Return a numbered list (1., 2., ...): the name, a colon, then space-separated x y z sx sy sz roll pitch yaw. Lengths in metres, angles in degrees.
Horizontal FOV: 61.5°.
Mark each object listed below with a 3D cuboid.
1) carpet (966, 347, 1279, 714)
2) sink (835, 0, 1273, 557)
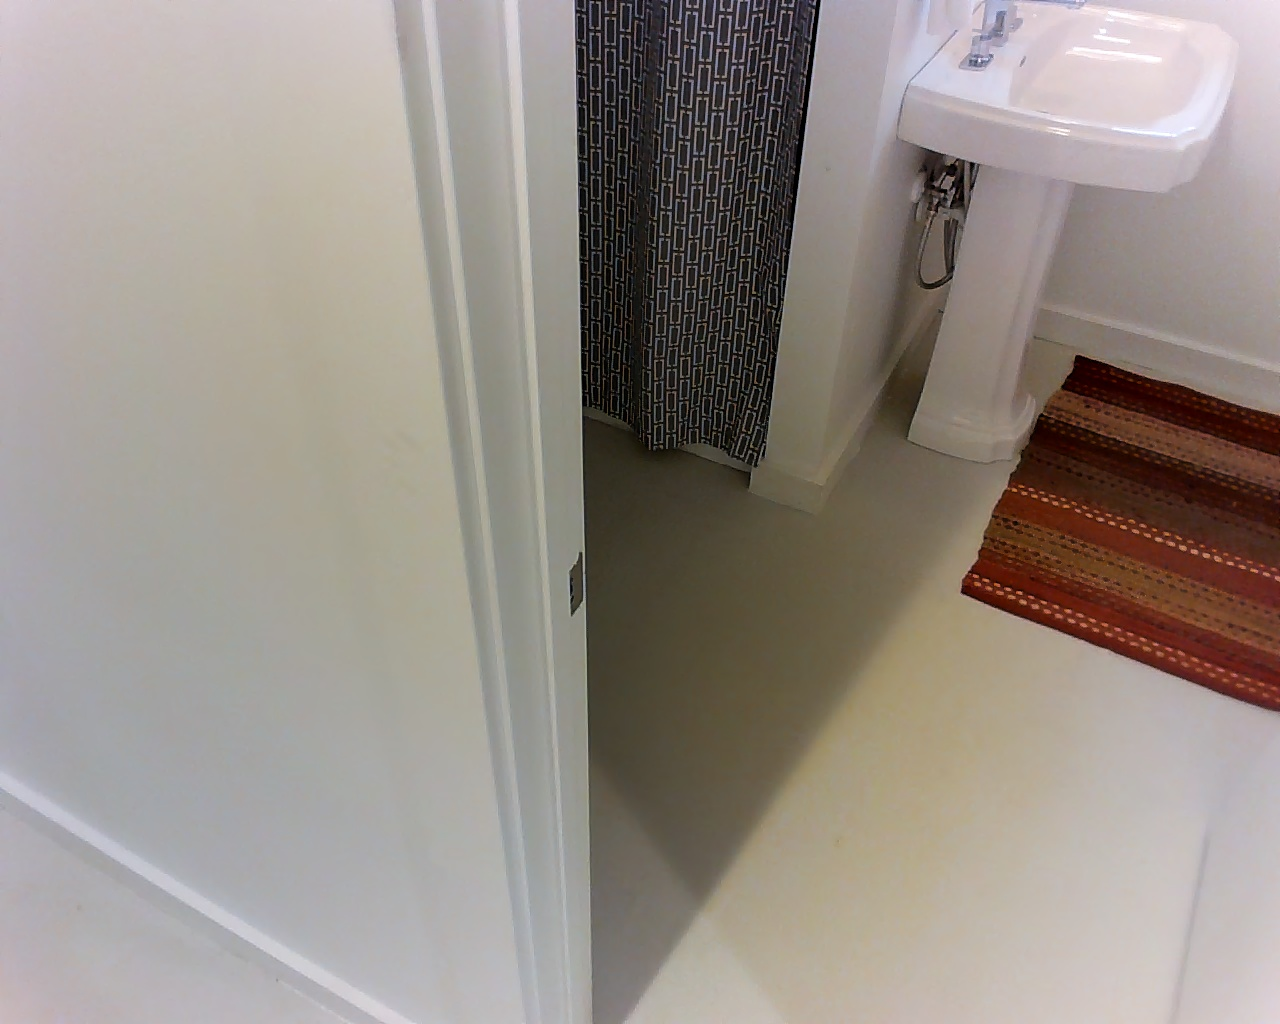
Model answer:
1. carpet: 1.170 -0.020 2.370 0.640 0.030 0.990 20 46 20
2. sink: 0.860 -0.540 2.300 0.520 0.870 0.770 21 46 20
